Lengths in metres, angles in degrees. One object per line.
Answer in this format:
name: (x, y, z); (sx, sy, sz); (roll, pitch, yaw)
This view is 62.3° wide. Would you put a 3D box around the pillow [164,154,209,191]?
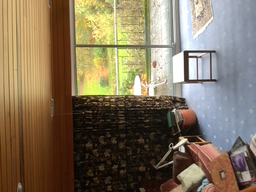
pillow: (0.780, 1.090, 2.880); (0.130, 0.510, 0.400); (45, 178, -10)
